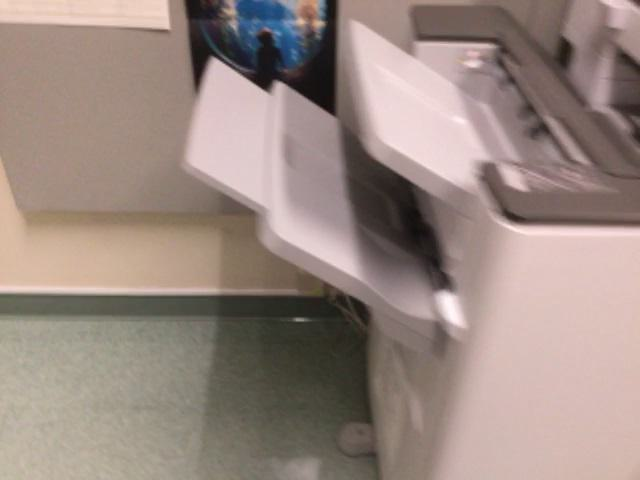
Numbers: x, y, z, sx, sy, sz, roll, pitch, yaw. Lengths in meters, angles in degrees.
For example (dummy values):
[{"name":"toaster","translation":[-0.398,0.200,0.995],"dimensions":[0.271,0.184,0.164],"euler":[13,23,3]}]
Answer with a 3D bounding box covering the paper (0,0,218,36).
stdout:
[{"name":"paper","translation":[-0.400,-0.490,1.050],"dimensions":[0.400,0.230,0.020],"euler":[0,37,0]}]
